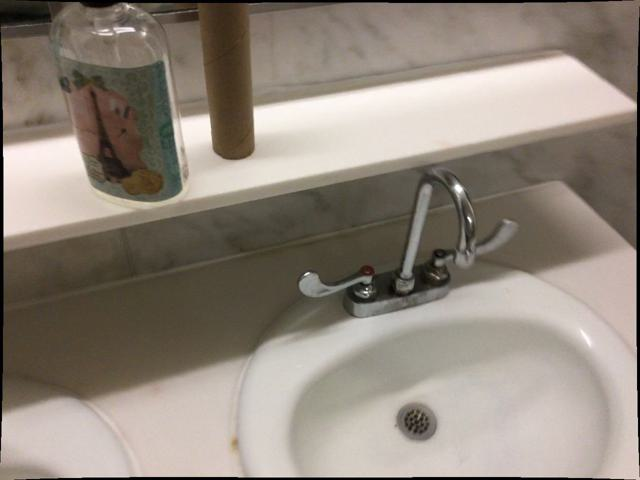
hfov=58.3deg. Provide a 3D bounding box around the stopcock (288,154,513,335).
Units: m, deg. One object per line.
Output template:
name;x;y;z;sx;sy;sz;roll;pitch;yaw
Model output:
stopcock;0.100;0.000;0.800;0.250;0.130;0.160;-12;46;-16

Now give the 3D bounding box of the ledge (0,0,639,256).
ledge;-0.150;-0.170;0.620;1.079;0.160;0.260;-12;46;-16
